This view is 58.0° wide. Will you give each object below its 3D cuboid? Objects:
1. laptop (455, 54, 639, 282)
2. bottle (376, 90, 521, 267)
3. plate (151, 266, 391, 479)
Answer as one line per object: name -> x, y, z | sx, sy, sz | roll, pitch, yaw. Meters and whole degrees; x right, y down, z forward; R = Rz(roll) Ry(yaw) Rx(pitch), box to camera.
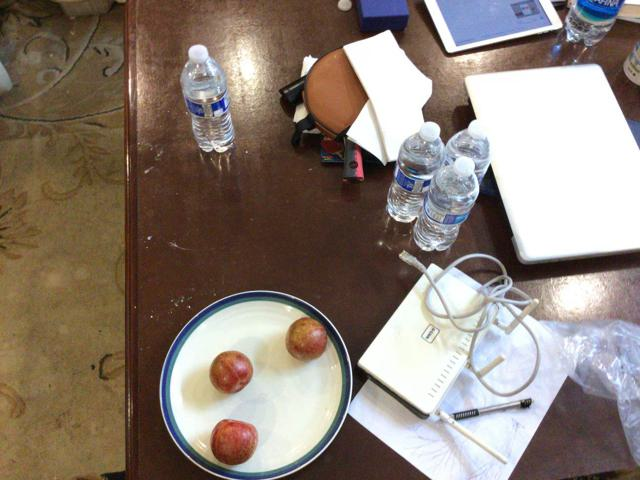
laptop -> 0.430, -0.130, 0.930 | 0.330, 0.050, 0.360 | -8, 64, -5
bottle -> 0.180, -0.090, 0.870 | 0.140, 0.150, 0.200 | -8, 64, -4
plate -> -0.070, 0.180, 0.750 | 0.270, 0.070, 0.250 | -8, 64, -5
